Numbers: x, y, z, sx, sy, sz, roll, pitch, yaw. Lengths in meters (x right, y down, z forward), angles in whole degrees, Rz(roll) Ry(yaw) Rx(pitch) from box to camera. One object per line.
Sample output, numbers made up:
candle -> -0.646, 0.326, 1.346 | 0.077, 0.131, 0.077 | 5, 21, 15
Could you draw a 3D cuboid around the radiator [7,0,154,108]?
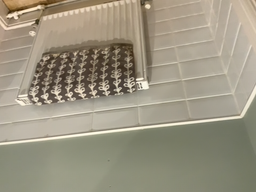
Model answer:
radiator -> -0.220, -0.270, 1.080 | 0.630, 0.620, 0.090 | -8, 147, 8
